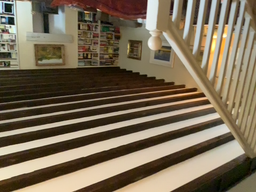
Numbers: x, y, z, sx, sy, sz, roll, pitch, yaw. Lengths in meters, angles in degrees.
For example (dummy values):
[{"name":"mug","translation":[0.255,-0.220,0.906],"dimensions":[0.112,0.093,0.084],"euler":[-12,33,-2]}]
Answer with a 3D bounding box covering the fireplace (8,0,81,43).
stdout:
[{"name":"fireplace","translation":[-2.440,-2.420,6.310],"dimensions":[1.830,1.480,0.910],"euler":[-8,-161,-36]}]
